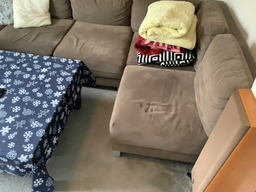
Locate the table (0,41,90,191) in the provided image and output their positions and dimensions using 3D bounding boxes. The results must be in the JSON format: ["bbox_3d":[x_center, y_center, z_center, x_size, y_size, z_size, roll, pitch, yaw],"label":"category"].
[{"bbox_3d":[-0.910,0.100,1.620,0.920,0.500,1.030,10,44,5],"label":"table"}]

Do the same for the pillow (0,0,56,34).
[{"bbox_3d":[-1.450,-0.920,2.190,1.260,0.320,0.310,6,44,1],"label":"pillow"}]
